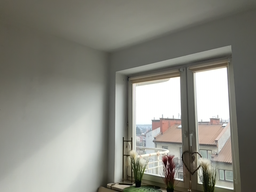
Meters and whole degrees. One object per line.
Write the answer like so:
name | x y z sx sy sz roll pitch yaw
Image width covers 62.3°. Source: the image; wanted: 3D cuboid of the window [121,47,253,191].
window | 0.550 0.350 2.540 1.570 1.540 0.130 -6 -10 40
